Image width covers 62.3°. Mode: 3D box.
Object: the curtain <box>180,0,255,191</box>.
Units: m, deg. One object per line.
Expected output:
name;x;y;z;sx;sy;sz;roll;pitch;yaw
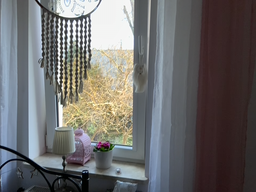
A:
curtain;0.530;-0.110;1.110;0.430;2.480;0.170;3;4;14

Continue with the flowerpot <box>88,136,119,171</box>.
flowerpot;-0.170;0.400;1.500;0.170;0.180;0.140;3;4;16

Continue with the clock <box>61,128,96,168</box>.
clock;-0.360;0.370;1.550;0.200;0.230;0.150;3;4;18
